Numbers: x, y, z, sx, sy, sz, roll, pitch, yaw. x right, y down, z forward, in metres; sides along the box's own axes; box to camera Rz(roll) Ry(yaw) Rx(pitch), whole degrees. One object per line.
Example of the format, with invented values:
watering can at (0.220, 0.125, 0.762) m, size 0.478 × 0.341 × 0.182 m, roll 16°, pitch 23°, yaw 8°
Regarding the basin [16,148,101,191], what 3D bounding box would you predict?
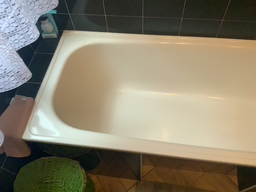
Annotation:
basin at (-0.370, 0.510, 1.220) m, size 0.320 × 0.350 × 0.260 m, roll 8°, pitch 59°, yaw 8°
